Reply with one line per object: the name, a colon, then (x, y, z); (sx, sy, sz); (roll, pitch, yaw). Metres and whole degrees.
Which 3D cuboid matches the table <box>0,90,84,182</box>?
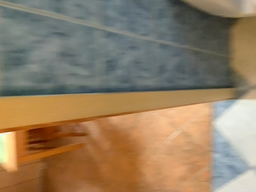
table: (-1.160, 0.350, 2.560); (1.120, 0.740, 0.750); (6, 98, 44)
